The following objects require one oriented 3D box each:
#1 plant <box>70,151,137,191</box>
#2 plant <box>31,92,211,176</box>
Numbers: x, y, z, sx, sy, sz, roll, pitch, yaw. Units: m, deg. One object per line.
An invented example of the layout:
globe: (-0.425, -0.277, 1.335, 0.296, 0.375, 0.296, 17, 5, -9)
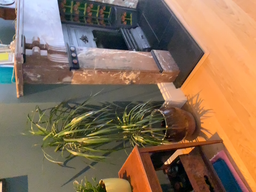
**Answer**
plant: (-0.170, 0.600, 1.350, 0.370, 0.300, 0.320, 117, 143, -45)
plant: (-0.050, 0.250, 1.650, 0.430, 1.280, 0.380, 119, 142, -46)
